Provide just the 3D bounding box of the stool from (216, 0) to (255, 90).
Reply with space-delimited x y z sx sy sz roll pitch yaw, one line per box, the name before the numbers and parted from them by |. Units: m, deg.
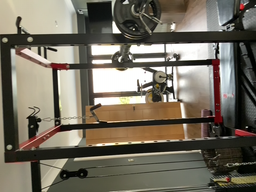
stool | 1.060 -0.540 1.880 0.250 0.420 0.940 173 95 -85
